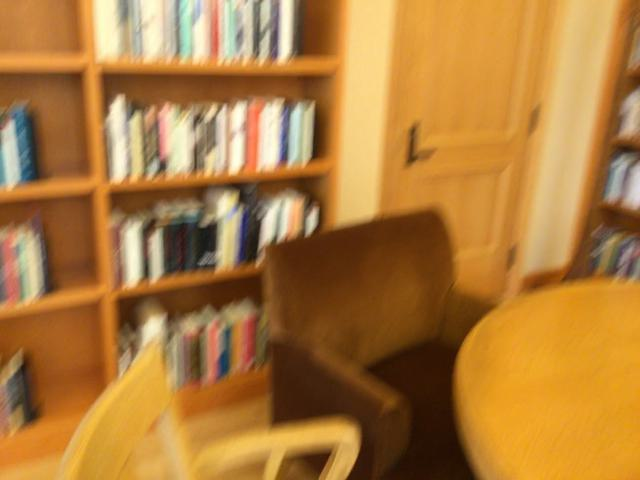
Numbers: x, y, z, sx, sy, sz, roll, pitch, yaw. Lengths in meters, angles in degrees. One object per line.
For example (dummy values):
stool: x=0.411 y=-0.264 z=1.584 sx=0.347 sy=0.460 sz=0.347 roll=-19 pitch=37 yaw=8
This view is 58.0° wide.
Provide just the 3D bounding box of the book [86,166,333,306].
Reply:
book: x=-0.410 y=-0.050 z=2.260 sx=0.870 sy=0.360 sz=0.330 roll=-9 pitch=19 yaw=-27

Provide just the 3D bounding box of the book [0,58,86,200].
book: x=-1.140 y=-0.330 z=1.730 sx=0.740 sy=0.400 sz=0.320 roll=-9 pitch=19 yaw=-27

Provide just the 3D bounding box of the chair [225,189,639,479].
chair: x=0.320 y=0.410 z=1.780 sx=0.880 sy=0.910 sz=0.800 roll=-13 pitch=21 yaw=-36

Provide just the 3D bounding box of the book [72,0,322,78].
book: x=-0.410 y=-0.760 z=1.990 sx=0.780 sy=0.370 sz=0.300 roll=-9 pitch=19 yaw=-27

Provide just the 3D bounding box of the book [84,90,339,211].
book: x=-0.360 y=-0.350 z=2.100 sx=0.870 sy=0.350 sz=0.210 roll=-9 pitch=19 yaw=-27

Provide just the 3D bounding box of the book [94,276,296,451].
book: x=-0.490 y=0.460 z=2.320 sx=0.690 sy=0.430 sz=0.350 roll=-9 pitch=19 yaw=-27

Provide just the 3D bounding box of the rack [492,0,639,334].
rack: x=1.370 y=-0.450 z=3.060 sx=0.610 sy=1.740 sz=0.460 roll=-9 pitch=19 yaw=-27
